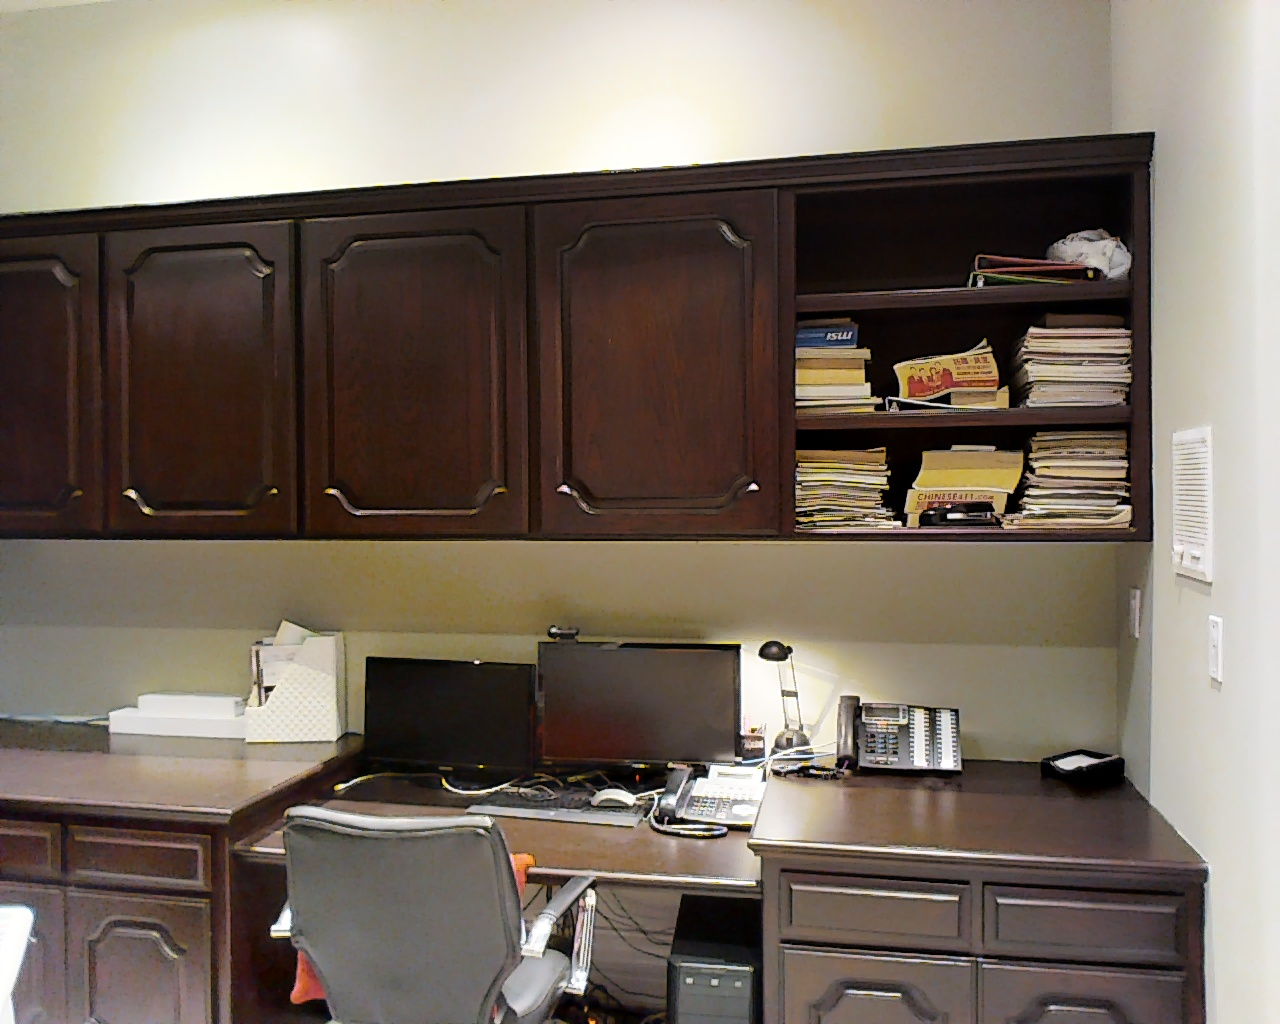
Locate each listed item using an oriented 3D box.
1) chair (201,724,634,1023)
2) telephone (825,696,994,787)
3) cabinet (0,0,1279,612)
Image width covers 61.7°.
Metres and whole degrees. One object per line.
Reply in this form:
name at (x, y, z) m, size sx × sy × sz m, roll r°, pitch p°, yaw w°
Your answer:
chair at (-0.420, 0.950, 2.240) m, size 0.700 × 0.860 × 0.600 m, roll 0°, pitch 1°, yaw 12°
telephone at (0.690, 0.590, 2.780) m, size 0.410 × 0.170 × 0.220 m, roll 0°, pitch 1°, yaw 11°
cabinet at (-0.660, -0.390, 2.650) m, size 3.680 × 1.060 × 1.340 m, roll 0°, pitch 1°, yaw 12°
